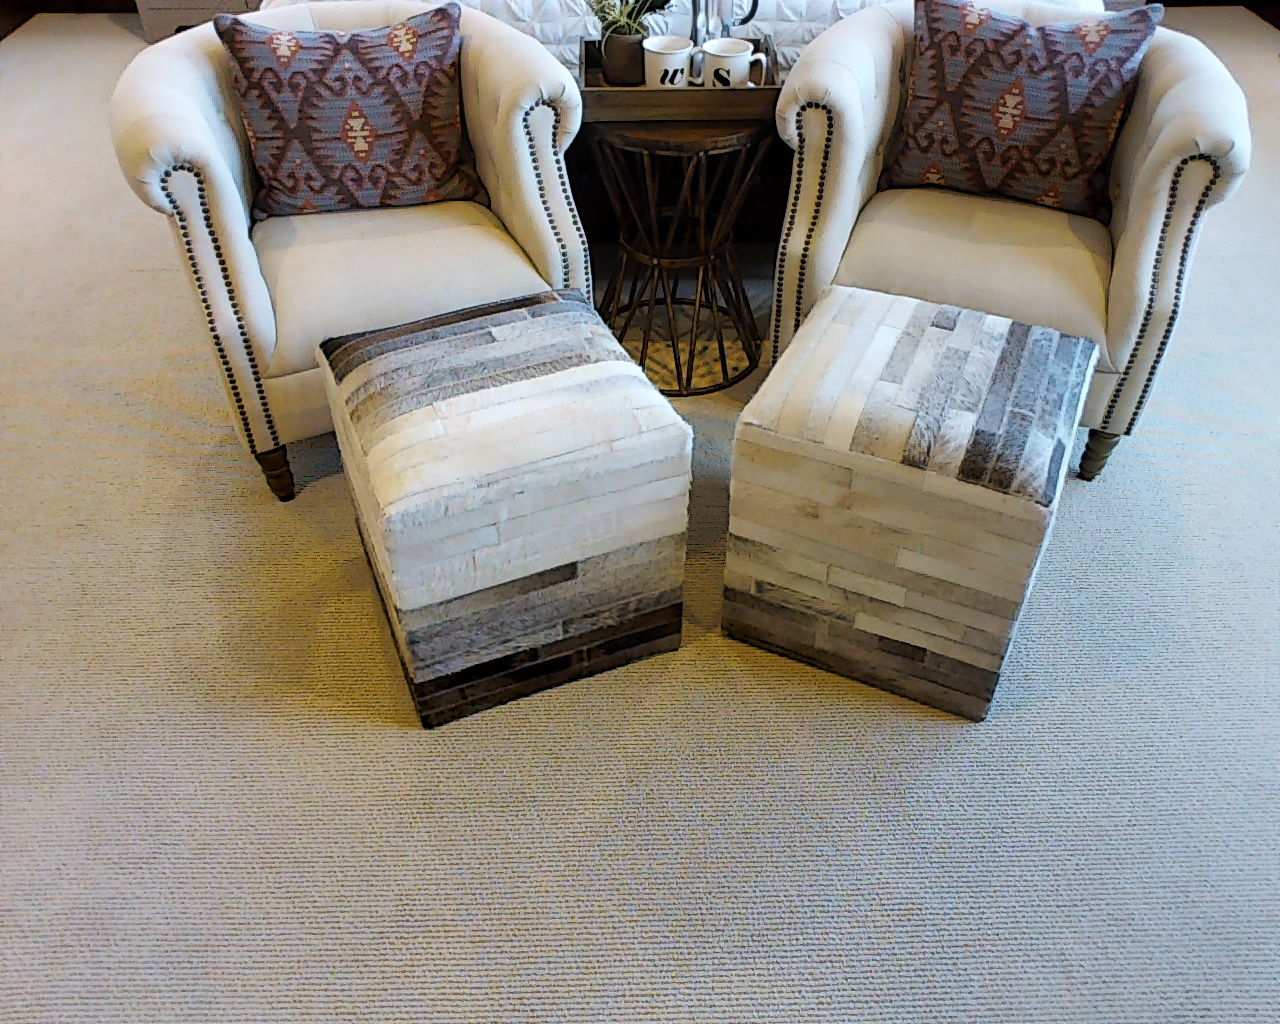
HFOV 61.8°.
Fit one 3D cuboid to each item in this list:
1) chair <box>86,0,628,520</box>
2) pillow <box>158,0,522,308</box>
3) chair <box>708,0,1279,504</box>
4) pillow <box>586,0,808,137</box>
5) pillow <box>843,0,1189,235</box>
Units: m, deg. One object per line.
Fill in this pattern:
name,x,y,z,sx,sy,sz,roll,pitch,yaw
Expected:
chair,-0.580,-0.610,2.270,0.870,0.720,0.810,-15,44,-16
pillow,-0.590,-0.770,2.160,0.500,0.460,0.220,-35,36,7
chair,0.690,-0.620,2.280,0.910,0.710,0.810,10,43,11
pillow,0.100,-0.960,2.180,0.410,0.260,0.320,-1,42,-2
pillow,0.760,-0.840,2.160,0.560,0.370,0.210,-7,46,35
